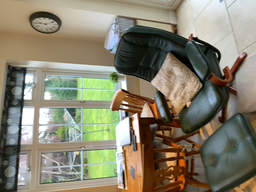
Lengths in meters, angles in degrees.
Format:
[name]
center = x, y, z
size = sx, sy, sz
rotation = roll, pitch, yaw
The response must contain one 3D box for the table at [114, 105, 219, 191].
[table]
center = 0.370, 0.990, 2.240
size = 0.820, 0.730, 1.590
rotation = 128, 139, -60
